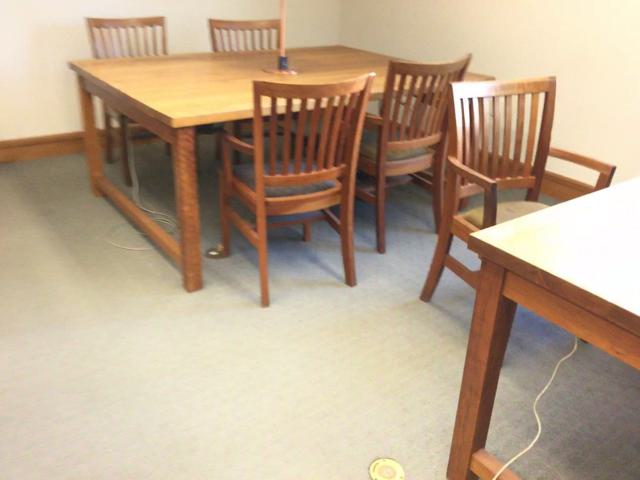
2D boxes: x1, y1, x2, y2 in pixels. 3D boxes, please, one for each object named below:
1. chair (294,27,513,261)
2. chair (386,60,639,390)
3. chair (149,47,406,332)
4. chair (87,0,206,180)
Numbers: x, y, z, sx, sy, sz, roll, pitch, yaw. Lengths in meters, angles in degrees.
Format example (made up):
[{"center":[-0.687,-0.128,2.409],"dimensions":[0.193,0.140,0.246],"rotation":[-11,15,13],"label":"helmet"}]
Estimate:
[{"center":[0.390,-0.520,2.960],"dimensions":[0.740,0.980,0.640],"rotation":[-10,27,-35],"label":"chair"},{"center":[0.760,-0.110,2.150],"dimensions":[0.640,0.980,0.620],"rotation":[-10,27,-35],"label":"chair"},{"center":[-0.220,-0.270,2.460],"dimensions":[0.770,0.950,0.680],"rotation":[-10,27,-35],"label":"chair"},{"center":[-1.070,-0.930,3.560],"dimensions":[0.500,0.960,0.570],"rotation":[-10,27,-35],"label":"chair"}]
